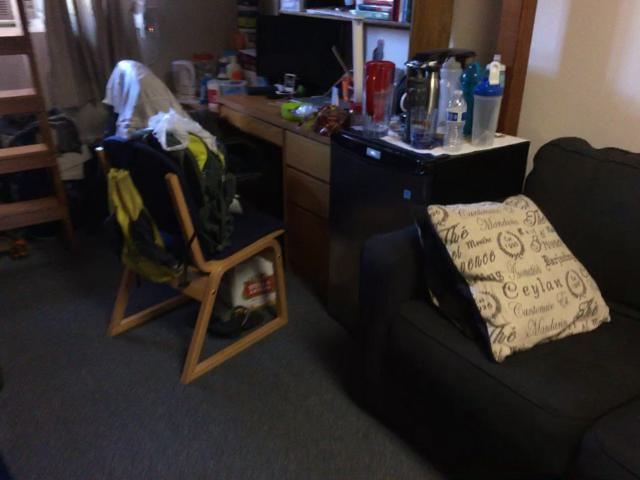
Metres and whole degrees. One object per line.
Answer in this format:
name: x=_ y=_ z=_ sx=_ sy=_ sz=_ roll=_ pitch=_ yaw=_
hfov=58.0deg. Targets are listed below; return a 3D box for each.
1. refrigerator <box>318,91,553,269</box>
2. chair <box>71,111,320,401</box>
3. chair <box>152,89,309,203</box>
refrigerator: x=0.410 y=-0.270 z=2.170 sx=0.620 sy=0.460 sz=0.560 roll=-15 pitch=26 yaw=-32
chair: x=-0.450 y=0.000 z=2.210 sx=0.690 sy=0.830 sz=0.570 roll=-15 pitch=26 yaw=-32
chair: x=-0.450 y=-0.490 z=2.820 sx=0.450 sy=0.370 sz=0.730 roll=-15 pitch=26 yaw=-32
